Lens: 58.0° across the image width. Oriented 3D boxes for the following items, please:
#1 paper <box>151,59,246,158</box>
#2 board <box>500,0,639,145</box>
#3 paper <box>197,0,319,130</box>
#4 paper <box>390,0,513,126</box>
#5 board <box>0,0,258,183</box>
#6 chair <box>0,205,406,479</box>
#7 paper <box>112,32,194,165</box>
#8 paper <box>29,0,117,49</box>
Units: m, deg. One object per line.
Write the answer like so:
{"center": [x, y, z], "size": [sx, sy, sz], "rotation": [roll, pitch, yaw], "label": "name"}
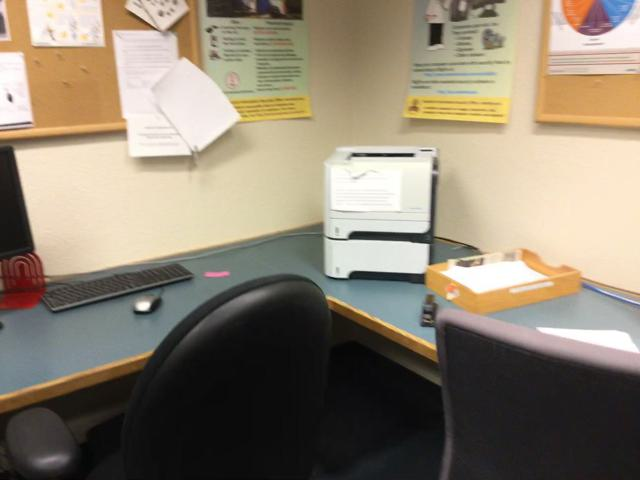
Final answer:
{"center": [-0.420, -0.470, 2.040], "size": [0.300, 0.320, 0.070], "rotation": [-14, 19, -36], "label": "paper"}
{"center": [0.910, -0.570, 1.420], "size": [0.080, 0.670, 1.000], "rotation": [-14, 19, -36], "label": "board"}
{"center": [-0.220, -0.740, 2.160], "size": [0.460, 0.610, 0.080], "rotation": [-14, 19, -36], "label": "paper"}
{"center": [0.440, -0.730, 2.030], "size": [0.050, 0.630, 0.500], "rotation": [-14, 19, -36], "label": "paper"}
{"center": [-0.700, -0.600, 1.800], "size": [1.080, 0.750, 0.090], "rotation": [-14, 19, -36], "label": "board"}
{"center": [-0.270, 0.540, 1.300], "size": [0.560, 1.070, 0.730], "rotation": [-14, 19, -36], "label": "chair"}
{"center": [-0.560, -0.480, 1.960], "size": [0.220, 0.420, 0.050], "rotation": [-14, 19, -36], "label": "paper"}
{"center": [-0.750, -0.730, 1.740], "size": [0.230, 0.290, 0.040], "rotation": [-14, 19, -36], "label": "paper"}
